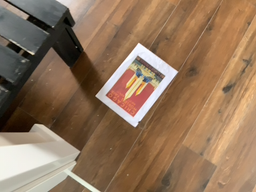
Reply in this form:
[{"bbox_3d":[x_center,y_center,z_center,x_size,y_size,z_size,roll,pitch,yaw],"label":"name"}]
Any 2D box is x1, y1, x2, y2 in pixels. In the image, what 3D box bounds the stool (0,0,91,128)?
[{"bbox_3d":[-0.650,-0.290,0.730,0.930,0.370,0.370,29,81,4],"label":"stool"}]
